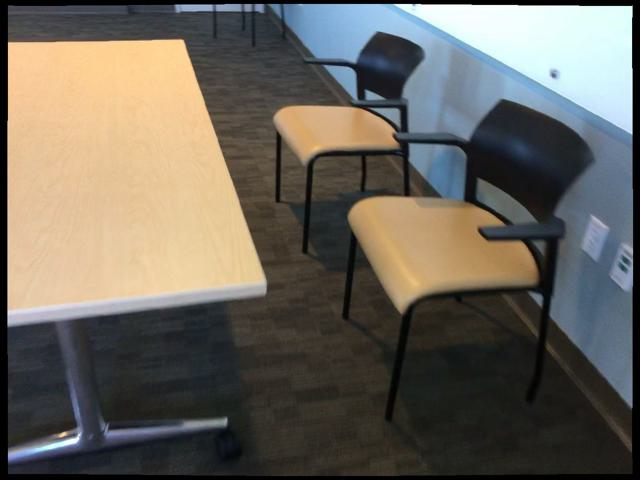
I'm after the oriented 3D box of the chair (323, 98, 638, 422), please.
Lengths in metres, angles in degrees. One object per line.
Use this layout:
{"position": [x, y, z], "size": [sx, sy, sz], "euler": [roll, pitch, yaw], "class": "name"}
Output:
{"position": [0.399, 0.030, 1.780], "size": [0.619, 0.741, 0.570], "euler": [-7, 33, -14], "class": "chair"}
